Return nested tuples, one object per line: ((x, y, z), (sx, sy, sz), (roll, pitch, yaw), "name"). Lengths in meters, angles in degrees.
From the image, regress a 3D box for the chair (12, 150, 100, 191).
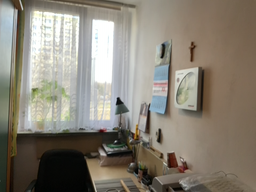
((-0.630, 1.020, 1.980), (0.630, 0.800, 0.760), (2, 2, -13), "chair")
